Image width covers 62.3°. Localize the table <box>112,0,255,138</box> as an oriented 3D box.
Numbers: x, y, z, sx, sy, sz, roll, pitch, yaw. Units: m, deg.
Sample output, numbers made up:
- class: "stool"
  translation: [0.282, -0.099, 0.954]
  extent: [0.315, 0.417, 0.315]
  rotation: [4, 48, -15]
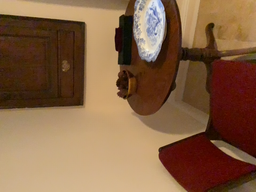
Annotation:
- class: "table"
  translation: [0.400, -0.310, 1.450]
  extent: [0.810, 0.750, 0.810]
  rotation: [-142, 54, -61]
